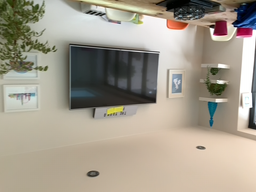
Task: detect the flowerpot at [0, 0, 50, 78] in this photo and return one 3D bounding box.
[{"bbox_3d":[-1.030,-0.880,1.970,0.500,1.410,0.260,-3,-172,-33],"label":"flowerpot"}]

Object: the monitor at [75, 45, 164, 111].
[{"bbox_3d":[-0.060,-0.210,2.700,1.220,0.740,0.040,-2,-169,-30],"label":"monitor"}]
